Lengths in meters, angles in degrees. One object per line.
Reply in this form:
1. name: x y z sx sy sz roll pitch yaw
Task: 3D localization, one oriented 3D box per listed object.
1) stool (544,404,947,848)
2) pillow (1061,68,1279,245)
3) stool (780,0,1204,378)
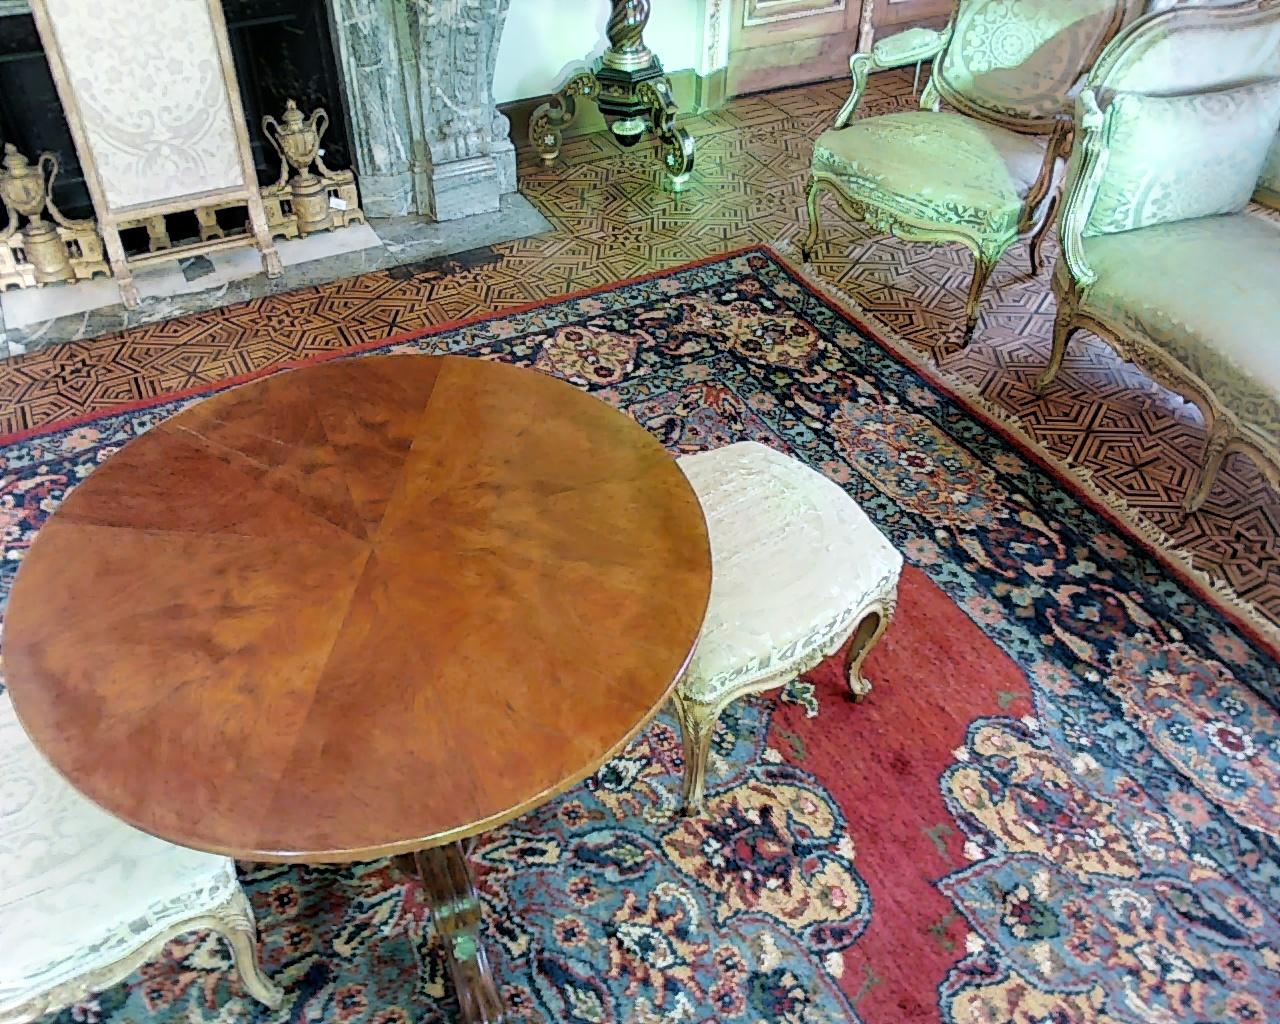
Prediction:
1. stool: 0.180 0.200 2.060 0.540 0.500 0.460 -26 49 -27
2. pillow: 1.440 -0.930 2.810 0.520 0.340 0.220 -8 43 -11
3. stool: 1.000 -1.140 3.190 0.730 1.060 0.770 -32 51 -31
